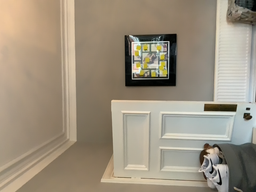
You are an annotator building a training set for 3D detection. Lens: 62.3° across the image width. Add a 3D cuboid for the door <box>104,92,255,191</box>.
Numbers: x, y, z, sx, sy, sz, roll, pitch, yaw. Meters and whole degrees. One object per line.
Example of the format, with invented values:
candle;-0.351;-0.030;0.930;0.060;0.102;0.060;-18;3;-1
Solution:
door;0.830;0.500;2.240;0.150;2.120;1.040;-76;-13;-69
